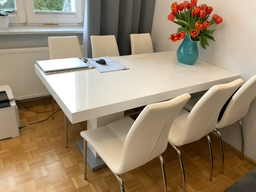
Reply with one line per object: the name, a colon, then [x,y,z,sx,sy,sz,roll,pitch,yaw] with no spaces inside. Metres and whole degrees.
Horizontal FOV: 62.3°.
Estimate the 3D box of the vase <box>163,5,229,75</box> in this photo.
vase: [0.650,-0.570,2.120,0.290,0.580,0.420,-12,32,-32]
